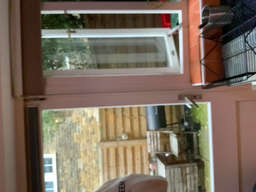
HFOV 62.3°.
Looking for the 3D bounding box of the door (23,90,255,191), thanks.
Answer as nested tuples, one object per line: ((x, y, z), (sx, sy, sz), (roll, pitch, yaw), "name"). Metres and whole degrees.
((0.420, 0.310, 1.330), (0.030, 2.020, 0.670), (-174, 83, -83), "door")
